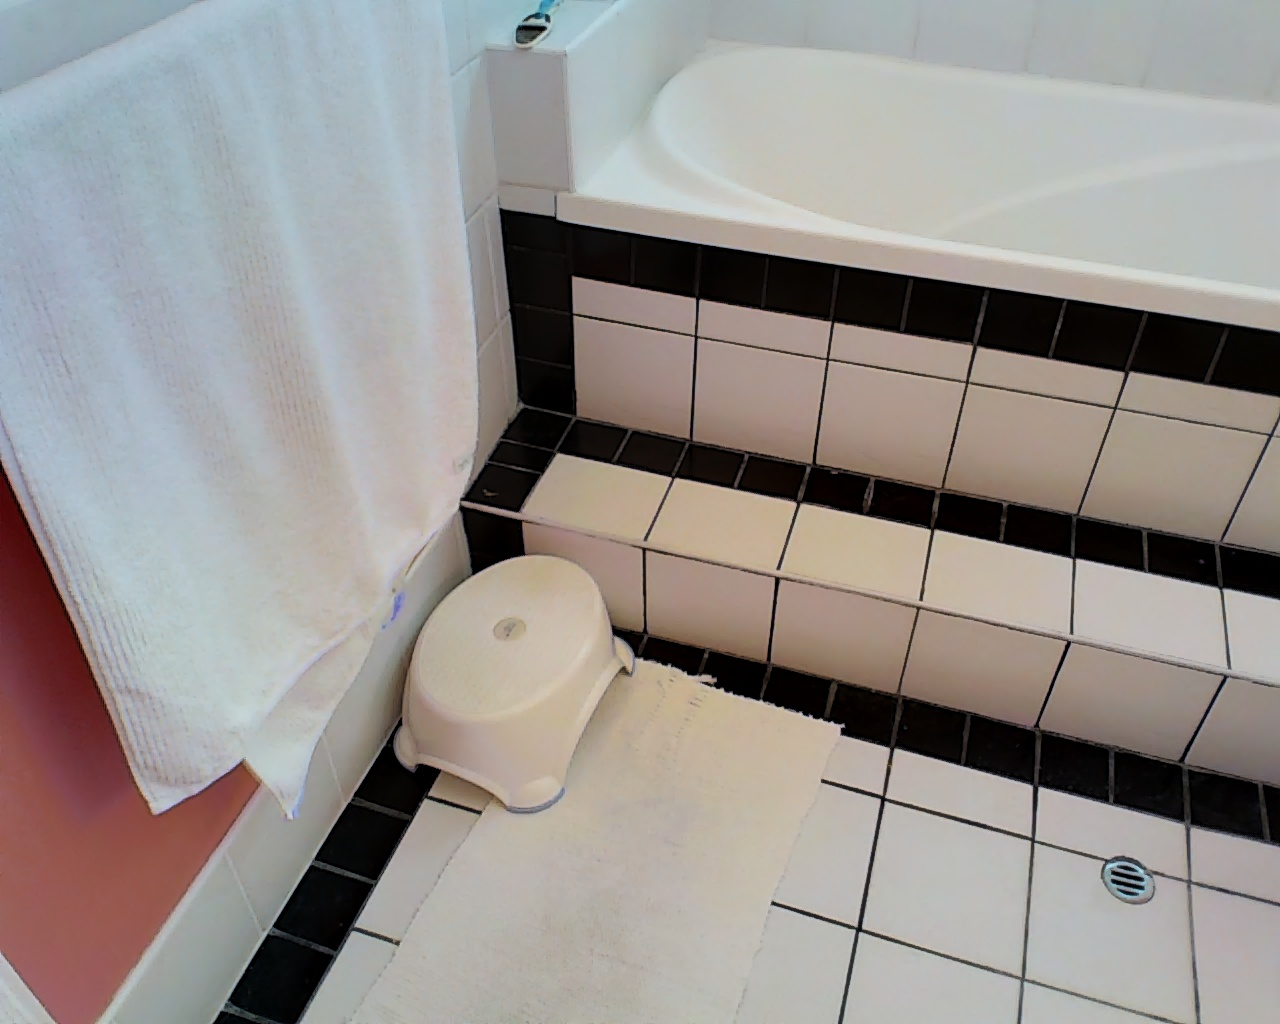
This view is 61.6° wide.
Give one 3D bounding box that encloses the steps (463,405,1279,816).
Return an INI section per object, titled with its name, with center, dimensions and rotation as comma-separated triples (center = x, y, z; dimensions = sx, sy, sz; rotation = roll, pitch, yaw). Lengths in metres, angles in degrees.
[steps]
center = 0.580, 0.170, 1.610
dimensions = 1.700, 0.230, 0.280
rotation = 13, 42, 14
